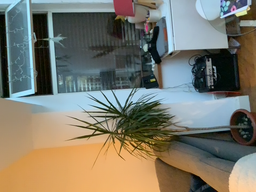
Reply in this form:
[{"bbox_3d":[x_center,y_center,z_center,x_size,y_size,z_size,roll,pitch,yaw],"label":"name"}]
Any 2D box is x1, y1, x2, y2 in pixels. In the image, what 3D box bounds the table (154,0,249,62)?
[{"bbox_3d":[0.750,-0.780,2.250,0.400,0.790,0.730,155,111,-79],"label":"table"}]
